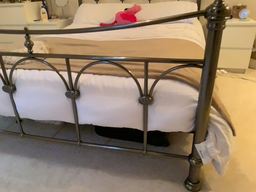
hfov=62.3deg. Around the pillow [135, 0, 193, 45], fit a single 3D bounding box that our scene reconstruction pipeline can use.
[{"bbox_3d":[0.400,-0.920,2.320,0.230,0.550,0.600,-59,141,-61],"label":"pillow"}]
